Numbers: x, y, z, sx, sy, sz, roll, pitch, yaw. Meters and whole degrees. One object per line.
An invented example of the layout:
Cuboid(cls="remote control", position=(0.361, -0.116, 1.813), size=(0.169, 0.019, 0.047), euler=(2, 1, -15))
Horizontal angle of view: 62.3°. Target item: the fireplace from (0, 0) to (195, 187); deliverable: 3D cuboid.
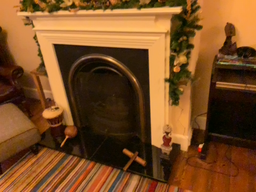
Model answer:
Cuboid(cls="fireplace", position=(-0.230, -0.090, 1.830), size=(1.380, 1.240, 0.650), euler=(8, 32, 23))

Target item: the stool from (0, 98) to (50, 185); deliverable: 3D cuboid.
Cuboid(cls="stool", position=(-1.190, 0.390, 2.030), size=(0.500, 0.380, 0.710), euler=(-29, 37, -35))
